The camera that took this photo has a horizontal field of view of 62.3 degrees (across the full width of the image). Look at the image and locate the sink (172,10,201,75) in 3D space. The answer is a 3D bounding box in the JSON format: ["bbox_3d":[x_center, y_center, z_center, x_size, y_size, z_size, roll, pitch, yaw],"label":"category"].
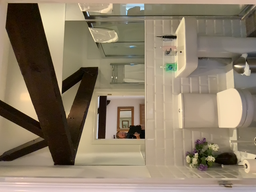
[{"bbox_3d":[0.590,-0.530,2.210,0.440,0.160,0.540,90,180,-82],"label":"sink"}]

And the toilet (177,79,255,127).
[{"bbox_3d":[0.950,0.100,2.010,0.650,0.810,0.370,86,-176,-81],"label":"toilet"}]
